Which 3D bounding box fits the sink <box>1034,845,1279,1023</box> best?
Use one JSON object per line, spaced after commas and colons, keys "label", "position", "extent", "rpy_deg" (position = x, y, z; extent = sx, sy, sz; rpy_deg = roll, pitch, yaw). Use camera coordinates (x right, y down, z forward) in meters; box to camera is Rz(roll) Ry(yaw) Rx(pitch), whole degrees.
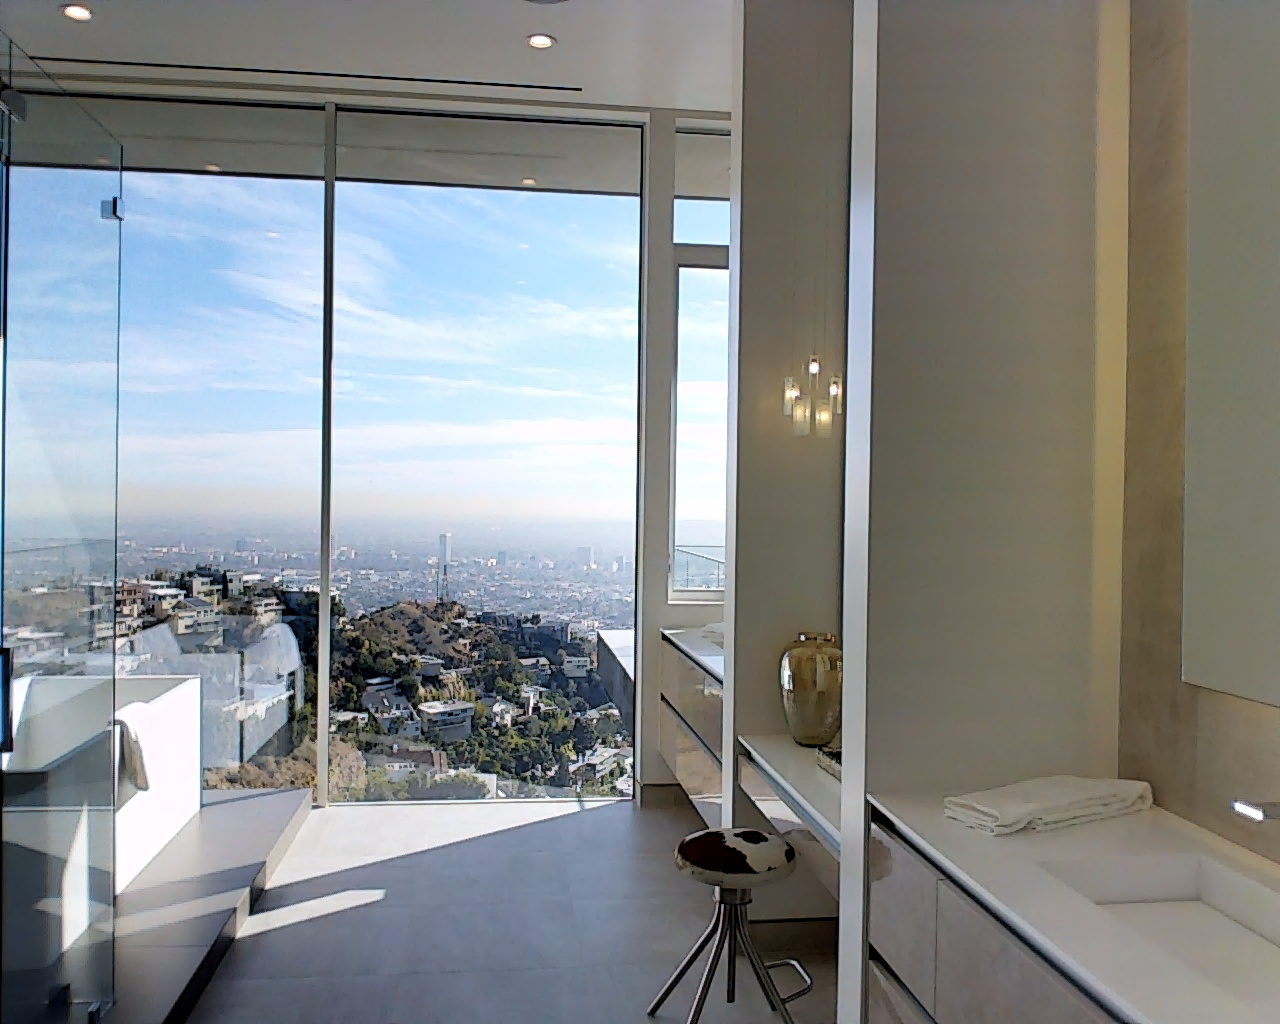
{"label": "sink", "position": [0.930, 0.670, 1.690], "extent": [0.340, 0.090, 0.610], "rpy_deg": [0, 0, -8]}
